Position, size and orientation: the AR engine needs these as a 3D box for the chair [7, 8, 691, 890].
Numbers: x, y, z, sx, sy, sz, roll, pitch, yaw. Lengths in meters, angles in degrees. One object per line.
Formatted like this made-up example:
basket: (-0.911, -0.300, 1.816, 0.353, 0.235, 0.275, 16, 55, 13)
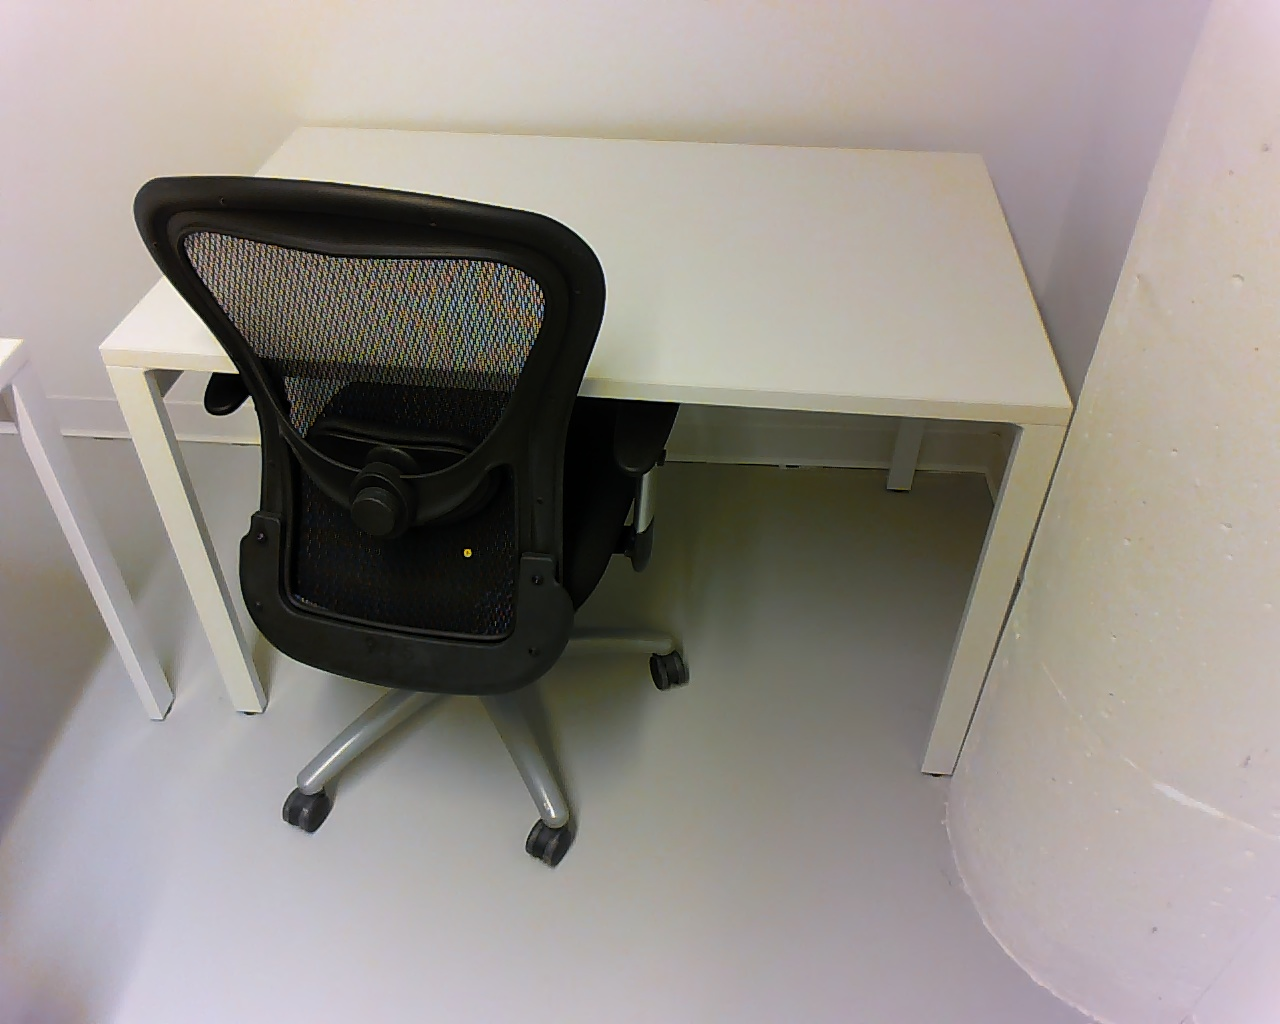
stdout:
chair: (-0.250, -0.060, 1.530, 0.590, 1.040, 0.670, 3, 41, 2)
